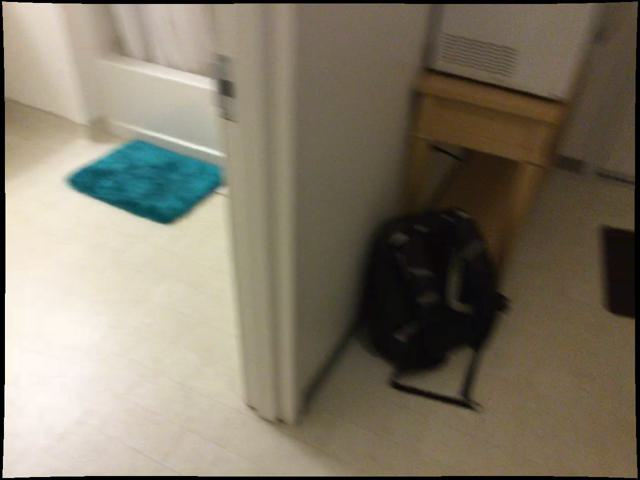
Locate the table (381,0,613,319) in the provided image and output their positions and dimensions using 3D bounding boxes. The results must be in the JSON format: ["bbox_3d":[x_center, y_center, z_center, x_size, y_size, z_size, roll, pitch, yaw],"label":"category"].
[{"bbox_3d":[0.669,-0.420,2.100,0.410,0.760,1.140,20,43,20],"label":"table"}]

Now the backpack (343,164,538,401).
[{"bbox_3d":[0.350,0.110,1.720,0.390,0.430,0.430,20,43,20],"label":"backpack"}]
